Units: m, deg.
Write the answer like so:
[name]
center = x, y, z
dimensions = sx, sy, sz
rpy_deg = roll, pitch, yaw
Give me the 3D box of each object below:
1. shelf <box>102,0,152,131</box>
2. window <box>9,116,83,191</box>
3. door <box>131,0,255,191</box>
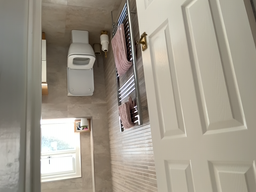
[shelf]
center = -0.060, -0.410, 2.170
dimensions = 0.220, 1.460, 0.640
rpy_deg = -1, 166, -17
[window]
center = -1.200, 0.830, 3.180
dimensions = 0.950, 1.000, 0.300
rpy_deg = 0, 166, -22
[door]
center = 0.260, -0.300, 1.030
dimensions = 0.090, 1.720, 0.720
rpy_deg = 2, 165, -27
